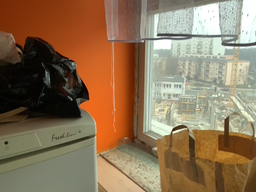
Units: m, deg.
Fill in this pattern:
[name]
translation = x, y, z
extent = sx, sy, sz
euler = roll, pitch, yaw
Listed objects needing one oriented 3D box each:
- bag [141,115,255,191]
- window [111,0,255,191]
[bag]
translation = 0.270, 0.280, 0.770
extent = 0.270, 0.300, 0.360
euler = -9, 15, -36
[window]
translation = 0.520, -0.090, 0.510
extent = 0.140, 1.230, 1.740
euler = -9, 16, -39
